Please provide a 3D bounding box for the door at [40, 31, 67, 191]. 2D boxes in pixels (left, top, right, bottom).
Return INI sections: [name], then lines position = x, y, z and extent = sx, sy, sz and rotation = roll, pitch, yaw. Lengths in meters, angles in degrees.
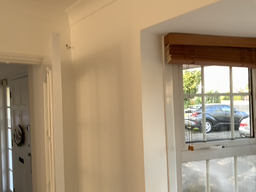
[door]
position = -0.460, 0.750, 1.290
extent = 0.050, 2.030, 0.880
rotation = -2, 0, -25
